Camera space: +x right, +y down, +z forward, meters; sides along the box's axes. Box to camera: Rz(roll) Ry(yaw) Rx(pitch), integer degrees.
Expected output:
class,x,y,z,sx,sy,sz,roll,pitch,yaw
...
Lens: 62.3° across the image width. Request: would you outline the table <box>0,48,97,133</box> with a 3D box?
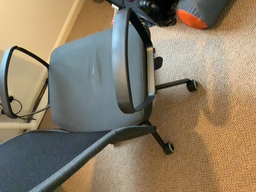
class,x,y,z,sx,sy,sz,roll,pitch,yaw
table,-0.670,-0.050,1.340,0.570,0.730,0.270,35,102,30
